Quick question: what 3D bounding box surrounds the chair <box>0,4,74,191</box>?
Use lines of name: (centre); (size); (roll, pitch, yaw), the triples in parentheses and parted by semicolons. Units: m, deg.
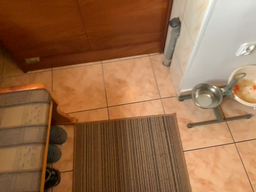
chair: (-0.580, 0.210, 0.830); (0.510, 0.810, 0.620); (-4, 62, -1)
